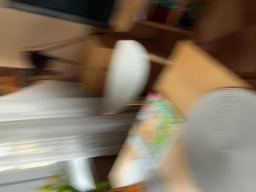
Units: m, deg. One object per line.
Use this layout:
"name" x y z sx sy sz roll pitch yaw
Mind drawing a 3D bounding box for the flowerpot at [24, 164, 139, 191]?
"flowerpot" -0.340 0.560 1.250 0.850 0.400 0.220 -29 65 53
